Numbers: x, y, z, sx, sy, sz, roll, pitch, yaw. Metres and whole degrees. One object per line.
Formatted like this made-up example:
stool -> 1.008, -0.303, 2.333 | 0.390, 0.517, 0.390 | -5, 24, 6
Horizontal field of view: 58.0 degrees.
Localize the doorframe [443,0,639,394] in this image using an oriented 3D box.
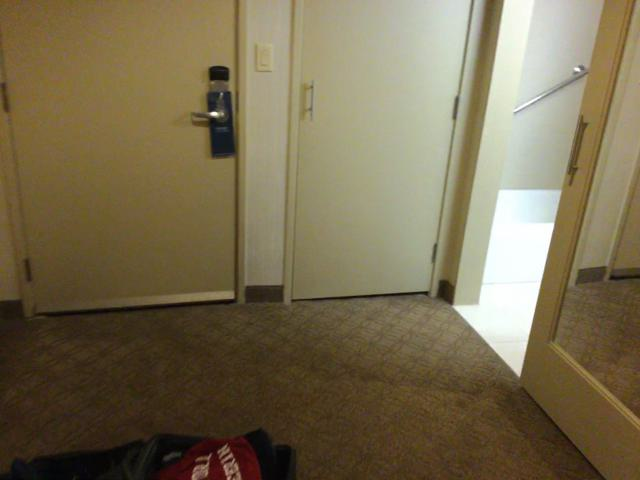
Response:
doorframe -> 0.870, -0.290, 2.400 | 0.190, 1.570, 0.880 | -2, 22, -12
